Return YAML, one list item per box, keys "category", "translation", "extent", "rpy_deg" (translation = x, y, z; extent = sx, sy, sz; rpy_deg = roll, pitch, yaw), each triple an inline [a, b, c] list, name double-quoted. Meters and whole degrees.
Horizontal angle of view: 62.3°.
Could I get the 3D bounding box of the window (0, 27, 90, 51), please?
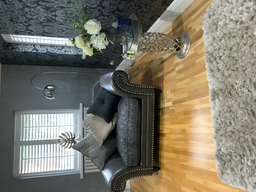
- category: "window"
  translation: [-1.260, -0.850, 3.260]
  extent: [0.560, 1.250, 0.060]
  rpy_deg: [157, 112, -70]
